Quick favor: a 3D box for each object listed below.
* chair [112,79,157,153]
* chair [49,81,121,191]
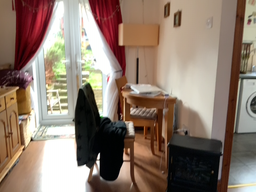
[{"bbox_3d":[0.100,0.230,2.750,0.520,0.830,0.440,3,12,8],"label":"chair"},{"bbox_3d":[-0.370,0.340,2.000,0.560,0.910,0.470,0,12,-7],"label":"chair"}]
